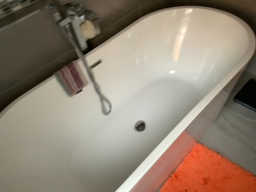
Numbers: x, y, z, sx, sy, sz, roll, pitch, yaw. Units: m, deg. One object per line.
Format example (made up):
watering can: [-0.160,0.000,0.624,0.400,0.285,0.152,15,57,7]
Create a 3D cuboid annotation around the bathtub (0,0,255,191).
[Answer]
bathtub: [0.050,0.070,1.350,0.840,0.590,1.740,33,62,33]
